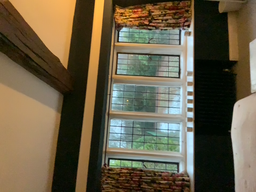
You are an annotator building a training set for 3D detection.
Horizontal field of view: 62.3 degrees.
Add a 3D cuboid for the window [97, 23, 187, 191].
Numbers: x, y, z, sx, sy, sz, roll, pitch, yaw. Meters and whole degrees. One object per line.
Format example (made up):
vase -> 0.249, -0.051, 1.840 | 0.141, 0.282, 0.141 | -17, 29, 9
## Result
window -> 0.300, 0.080, 3.680 | 0.210, 1.380, 2.790 | 94, 180, -77
